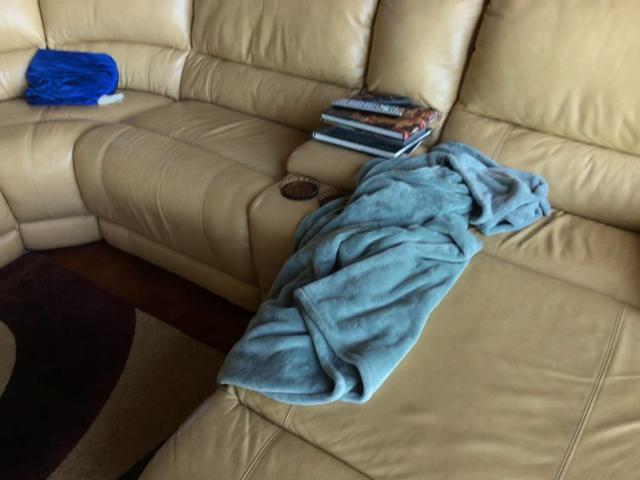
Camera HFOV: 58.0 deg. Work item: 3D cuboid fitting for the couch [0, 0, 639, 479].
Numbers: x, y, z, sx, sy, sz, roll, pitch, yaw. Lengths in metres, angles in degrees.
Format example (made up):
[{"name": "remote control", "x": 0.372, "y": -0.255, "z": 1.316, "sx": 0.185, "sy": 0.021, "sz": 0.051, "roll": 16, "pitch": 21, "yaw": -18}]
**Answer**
[{"name": "couch", "x": -0.740, "y": 0.060, "z": 1.380, "sx": 3.340, "sy": 1.120, "sz": 2.940, "roll": 22, "pitch": 41, "yaw": 27}]
